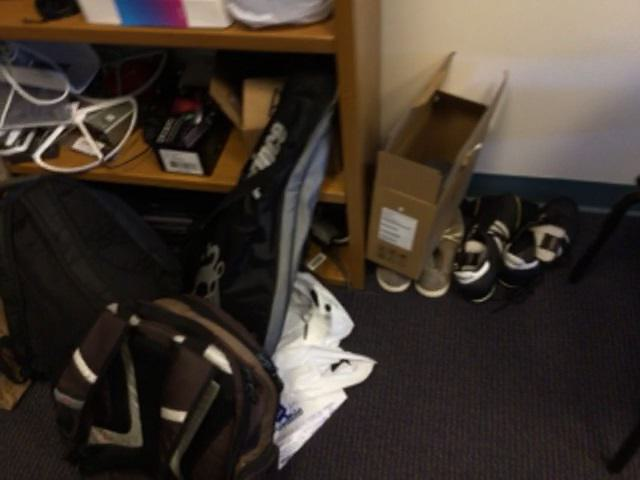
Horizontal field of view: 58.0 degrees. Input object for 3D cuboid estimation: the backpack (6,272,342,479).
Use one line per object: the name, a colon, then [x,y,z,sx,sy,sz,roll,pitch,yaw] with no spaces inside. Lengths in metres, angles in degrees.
backpack: [-0.250,0.330,1.050,0.380,0.430,0.330,-10,8,36]

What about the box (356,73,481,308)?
box: [0.220,-0.100,1.280,0.210,0.420,0.290,6,51,12]

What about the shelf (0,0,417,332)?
shelf: [-0.350,-0.660,0.740,0.920,2.070,0.410,6,51,12]

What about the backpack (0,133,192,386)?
backpack: [-0.520,0.050,1.260,0.270,0.360,0.370,9,-53,-39]
